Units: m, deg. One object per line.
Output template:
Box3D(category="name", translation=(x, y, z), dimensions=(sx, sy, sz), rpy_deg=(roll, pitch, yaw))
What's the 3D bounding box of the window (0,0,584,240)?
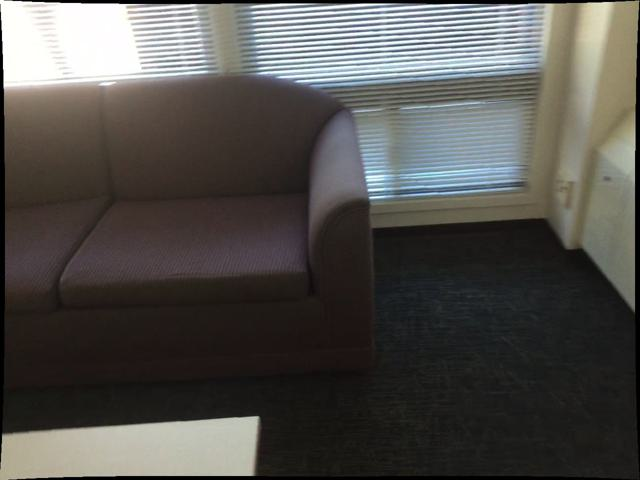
Box3D(category="window", translation=(-0.319, -0.992, 2.000), dimensions=(2.416, 1.992, 0.290), rpy_deg=(-4, 32, 1))
